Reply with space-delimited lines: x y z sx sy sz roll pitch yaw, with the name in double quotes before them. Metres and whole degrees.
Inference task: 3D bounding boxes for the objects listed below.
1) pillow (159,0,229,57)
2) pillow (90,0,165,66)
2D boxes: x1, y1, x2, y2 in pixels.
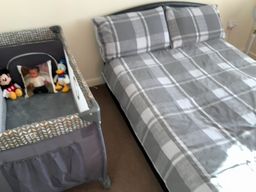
"pillow" 0.660 -0.740 2.210 0.650 0.420 0.180 -28 64 -4
"pillow" 0.030 -0.590 2.020 0.670 0.440 0.110 -29 67 0
